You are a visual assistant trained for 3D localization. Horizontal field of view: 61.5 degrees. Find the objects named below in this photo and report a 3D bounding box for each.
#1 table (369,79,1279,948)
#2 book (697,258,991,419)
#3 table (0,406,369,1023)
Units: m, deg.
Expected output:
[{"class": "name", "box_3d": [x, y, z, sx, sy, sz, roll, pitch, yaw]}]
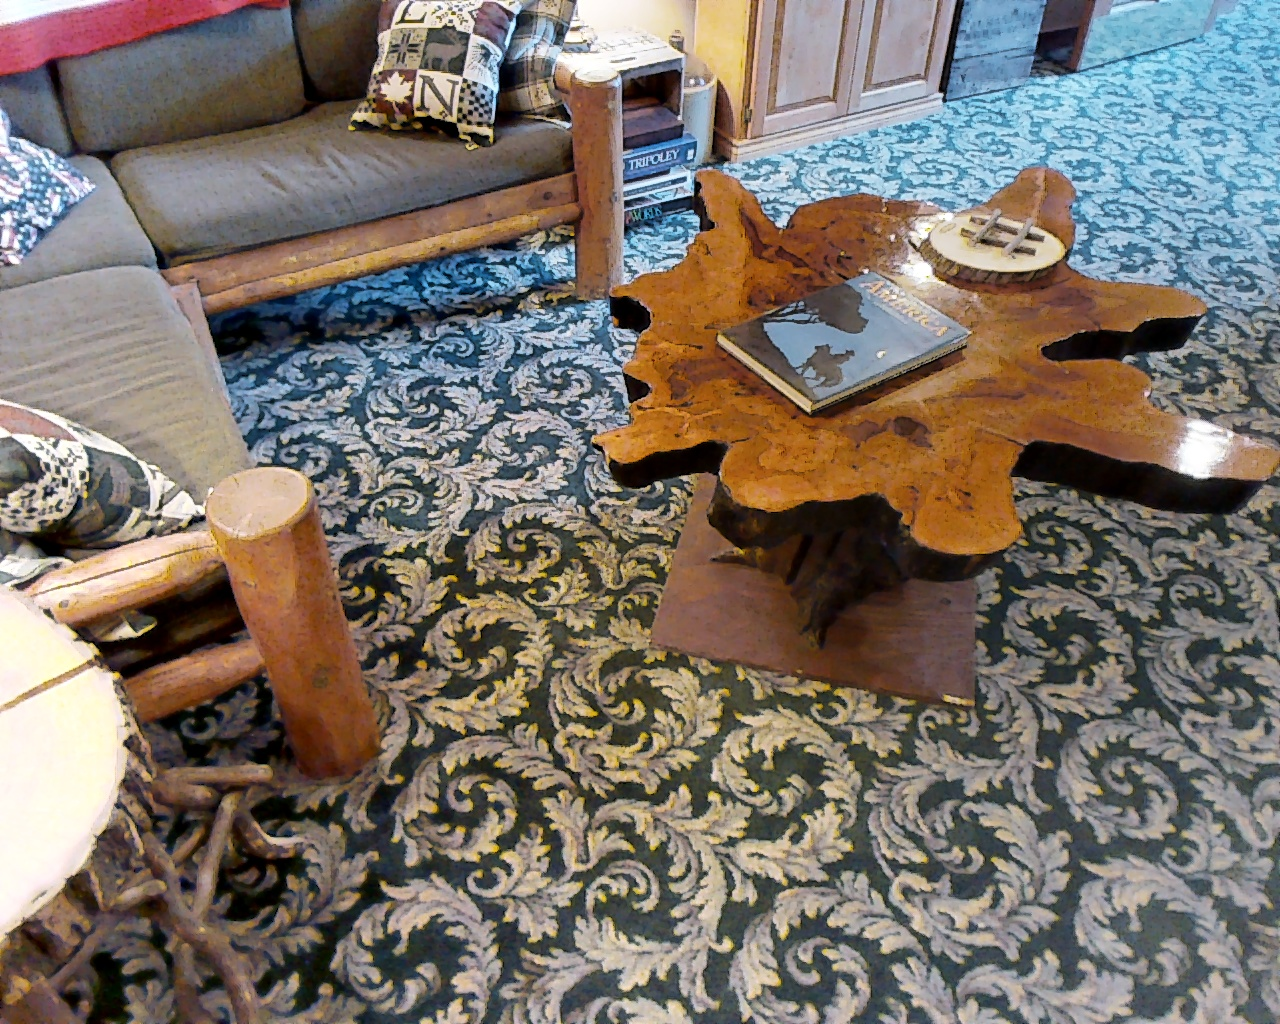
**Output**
[{"class": "table", "box_3d": [0.530, -0.230, 2.170, 1.350, 0.530, 1.520, 28, 48, 26]}, {"class": "book", "box_3d": [0.360, -0.320, 1.910, 0.420, 0.030, 0.300, -23, 47, -25]}, {"class": "table", "box_3d": [-0.730, 0.470, 1.230, 0.680, 0.800, 0.680, -17, 45, -19]}]
